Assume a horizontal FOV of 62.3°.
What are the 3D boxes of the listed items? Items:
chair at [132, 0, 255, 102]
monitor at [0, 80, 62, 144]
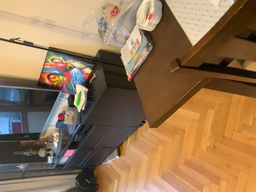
[{"bbox_3d":[0.590,-0.280,0.900,0.450,0.990,0.420,-49,45,41],"label":"chair"},{"bbox_3d":[-1.210,0.240,2.290,1.110,0.640,0.080,-47,44,41],"label":"monitor"}]
